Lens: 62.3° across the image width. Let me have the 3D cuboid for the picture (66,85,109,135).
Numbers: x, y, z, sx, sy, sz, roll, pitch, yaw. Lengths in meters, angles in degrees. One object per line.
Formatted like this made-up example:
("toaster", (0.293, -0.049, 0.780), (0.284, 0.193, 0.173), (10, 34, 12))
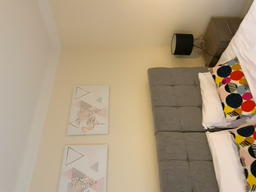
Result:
("picture", (-0.410, 0.130, 2.230), (0.050, 0.400, 0.560), (93, 176, -57))

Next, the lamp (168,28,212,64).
("lamp", (0.730, -0.600, 2.560), (0.320, 0.390, 0.280), (93, 176, -54))

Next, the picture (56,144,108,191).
("picture", (-0.390, 0.710, 1.830), (0.050, 0.410, 0.600), (93, 176, -55))

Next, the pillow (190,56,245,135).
("pillow", (0.830, -0.010, 2.020), (0.180, 0.340, 0.680), (-43, 36, 48))
